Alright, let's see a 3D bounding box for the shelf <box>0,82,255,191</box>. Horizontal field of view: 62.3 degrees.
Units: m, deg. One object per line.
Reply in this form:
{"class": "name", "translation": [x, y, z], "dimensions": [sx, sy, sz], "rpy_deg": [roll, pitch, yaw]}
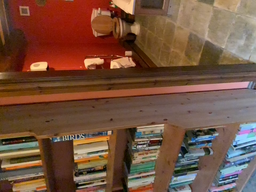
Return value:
{"class": "shelf", "translation": [0.020, 0.490, 1.410], "dimensions": [0.350, 1.930, 1.030], "rpy_deg": [-118, 29, -53]}

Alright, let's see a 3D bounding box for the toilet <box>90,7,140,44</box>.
{"class": "toilet", "translation": [-0.280, -1.340, 4.040], "dimensions": [0.550, 0.810, 0.520], "rpy_deg": [-117, 28, -52]}
